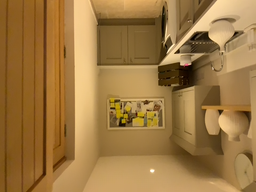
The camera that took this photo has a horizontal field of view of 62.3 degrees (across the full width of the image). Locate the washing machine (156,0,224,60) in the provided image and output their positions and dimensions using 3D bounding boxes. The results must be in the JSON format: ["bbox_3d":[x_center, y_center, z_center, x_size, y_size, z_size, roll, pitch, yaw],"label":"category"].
[{"bbox_3d":[0.780,-1.010,2.850,0.690,0.900,0.700,-1,178,0],"label":"washing machine"}]
